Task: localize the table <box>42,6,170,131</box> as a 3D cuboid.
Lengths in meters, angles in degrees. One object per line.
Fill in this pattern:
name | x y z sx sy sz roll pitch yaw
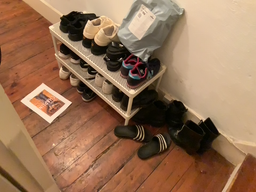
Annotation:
table | -0.180 -0.220 1.520 0.840 0.390 0.340 39 58 20
